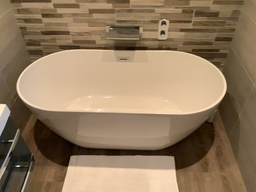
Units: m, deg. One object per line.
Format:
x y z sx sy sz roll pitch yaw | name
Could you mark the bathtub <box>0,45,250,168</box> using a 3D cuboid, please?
-0.060 0.040 1.740 1.580 0.560 0.800 2 42 3 | bathtub
